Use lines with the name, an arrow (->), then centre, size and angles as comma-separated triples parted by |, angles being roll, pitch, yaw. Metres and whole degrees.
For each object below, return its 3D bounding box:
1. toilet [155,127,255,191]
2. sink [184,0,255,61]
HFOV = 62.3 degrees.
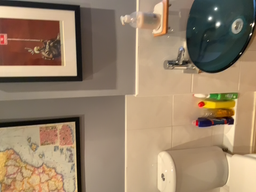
toilet -> 0.710, 0.500, 1.260 | 0.680, 0.880, 0.390 | -158, 67, -71
sink -> 0.450, -0.380, 1.060 | 0.250, 0.230, 0.380 | -165, 74, -72
